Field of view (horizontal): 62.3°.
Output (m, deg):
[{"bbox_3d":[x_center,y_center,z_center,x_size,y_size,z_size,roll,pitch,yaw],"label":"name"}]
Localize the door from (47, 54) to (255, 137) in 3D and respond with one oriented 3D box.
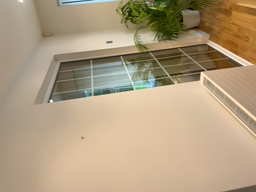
[{"bbox_3d":[0.230,-0.110,2.540,1.080,2.150,0.150,-108,11,-57],"label":"door"}]
